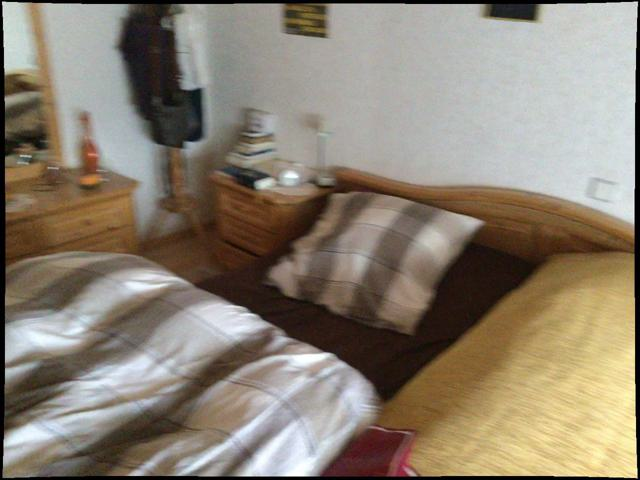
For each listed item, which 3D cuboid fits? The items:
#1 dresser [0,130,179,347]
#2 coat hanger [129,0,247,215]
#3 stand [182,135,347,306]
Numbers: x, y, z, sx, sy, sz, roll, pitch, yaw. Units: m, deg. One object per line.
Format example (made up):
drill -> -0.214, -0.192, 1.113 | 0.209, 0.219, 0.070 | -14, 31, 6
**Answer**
dresser -> -1.359, -0.010, 2.690 | 0.470, 0.671, 1.300 | 20, 32, 34
coat hanger -> -0.689, -0.931, 3.020 | 0.440, 1.501, 0.340 | 22, 33, 37
stand -> -0.300, -0.140, 3.110 | 0.750, 0.631, 0.460 | 22, 33, 37
